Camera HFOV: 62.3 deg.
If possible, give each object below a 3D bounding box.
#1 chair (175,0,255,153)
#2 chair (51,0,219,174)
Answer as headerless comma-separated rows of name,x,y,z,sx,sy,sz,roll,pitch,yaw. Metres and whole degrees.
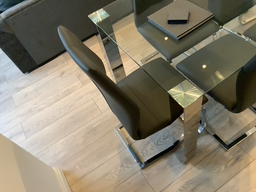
chair,0.630,-0.180,1.230,0.450,1.000,0.530,-32,55,-11
chair,0.070,-0.020,1.240,0.500,0.990,0.480,-29,55,-9
